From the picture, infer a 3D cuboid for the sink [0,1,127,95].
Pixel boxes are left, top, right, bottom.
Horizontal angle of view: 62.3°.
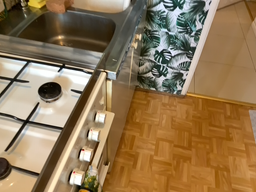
[{"bbox_3d":[-0.250,-0.230,0.930,0.410,0.180,0.350,12,46,6],"label":"sink"}]
